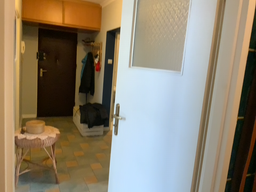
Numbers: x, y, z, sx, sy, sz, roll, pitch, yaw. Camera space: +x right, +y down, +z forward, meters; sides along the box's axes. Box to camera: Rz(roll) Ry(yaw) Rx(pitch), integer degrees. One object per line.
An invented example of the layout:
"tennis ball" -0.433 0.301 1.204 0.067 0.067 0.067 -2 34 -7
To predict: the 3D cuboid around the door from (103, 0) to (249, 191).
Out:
"door" 0.110 0.260 1.220 0.070 2.010 0.900 0 10 -30
